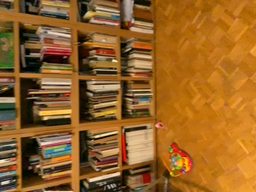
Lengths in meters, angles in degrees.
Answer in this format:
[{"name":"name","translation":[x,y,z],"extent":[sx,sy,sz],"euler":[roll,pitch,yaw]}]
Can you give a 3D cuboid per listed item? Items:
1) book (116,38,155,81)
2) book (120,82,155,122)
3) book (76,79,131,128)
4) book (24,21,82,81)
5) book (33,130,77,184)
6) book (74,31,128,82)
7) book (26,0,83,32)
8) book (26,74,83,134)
[{"name":"book","translation":[0.070,-0.340,2.090],"extent":[0.250,0.270,0.360],"euler":[-5,88,59]},{"name":"book","translation":[0.090,0.050,2.100],"extent":[0.250,0.250,0.360],"euler":[2,94,58]},{"name":"book","translation":[-0.230,0.040,1.920],"extent":[0.330,0.390,0.390],"euler":[8,98,58]},{"name":"book","translation":[-0.610,-0.330,1.700],"extent":[0.310,0.370,0.380],"euler":[-5,88,59]},{"name":"book","translation":[-0.600,0.470,1.720],"extent":[0.330,0.270,0.310],"euler":[0,92,59]},{"name":"book","translation":[-0.250,-0.330,1.920],"extent":[0.300,0.380,0.380],"euler":[-6,87,58]},{"name":"book","translation":[-0.580,-0.740,1.660],"extent":[0.200,0.380,0.370],"euler":[-5,88,59]},{"name":"book","translation":[-0.590,0.050,1.690],"extent":[0.320,0.360,0.410],"euler":[0,92,59]}]
